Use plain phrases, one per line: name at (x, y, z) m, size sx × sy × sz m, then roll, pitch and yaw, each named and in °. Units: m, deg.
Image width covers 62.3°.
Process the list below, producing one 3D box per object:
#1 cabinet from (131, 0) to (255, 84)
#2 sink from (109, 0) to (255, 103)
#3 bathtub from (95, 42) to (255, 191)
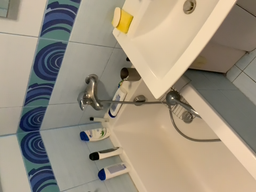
cabinet at (0.430, -0.320, 1.160) m, size 0.330 × 0.660 × 0.380 m, roll 55°, pitch 130°, yaw 30°
sink at (0.190, -0.330, 0.820) m, size 0.430 × 0.140 × 0.570 m, roll 55°, pitch 130°, yaw 30°
bathtub at (0.530, 0.490, 1.140) m, size 1.570 × 0.610 × 0.690 m, roll 55°, pitch 130°, yaw 30°
